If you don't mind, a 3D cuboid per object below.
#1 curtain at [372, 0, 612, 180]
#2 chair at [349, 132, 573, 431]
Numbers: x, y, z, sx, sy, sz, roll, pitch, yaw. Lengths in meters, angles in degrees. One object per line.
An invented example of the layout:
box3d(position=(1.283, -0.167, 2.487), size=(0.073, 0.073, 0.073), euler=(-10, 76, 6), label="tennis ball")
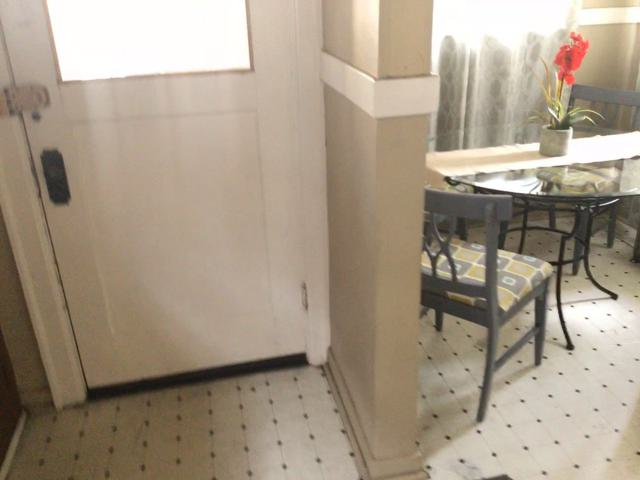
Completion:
box3d(position=(0.880, -1.360, 2.940), size=(1.200, 1.950, 0.280), euler=(-9, 24, -9), label="curtain")
box3d(position=(0.520, 0.100, 2.120), size=(0.530, 0.820, 0.600), euler=(14, 30, 36), label="chair")
